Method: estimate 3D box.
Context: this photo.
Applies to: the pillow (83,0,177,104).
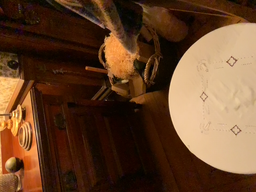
[{"bbox_3d":[-0.030,-0.290,1.390,0.430,0.220,0.530,-57,49,30],"label":"pillow"}]
